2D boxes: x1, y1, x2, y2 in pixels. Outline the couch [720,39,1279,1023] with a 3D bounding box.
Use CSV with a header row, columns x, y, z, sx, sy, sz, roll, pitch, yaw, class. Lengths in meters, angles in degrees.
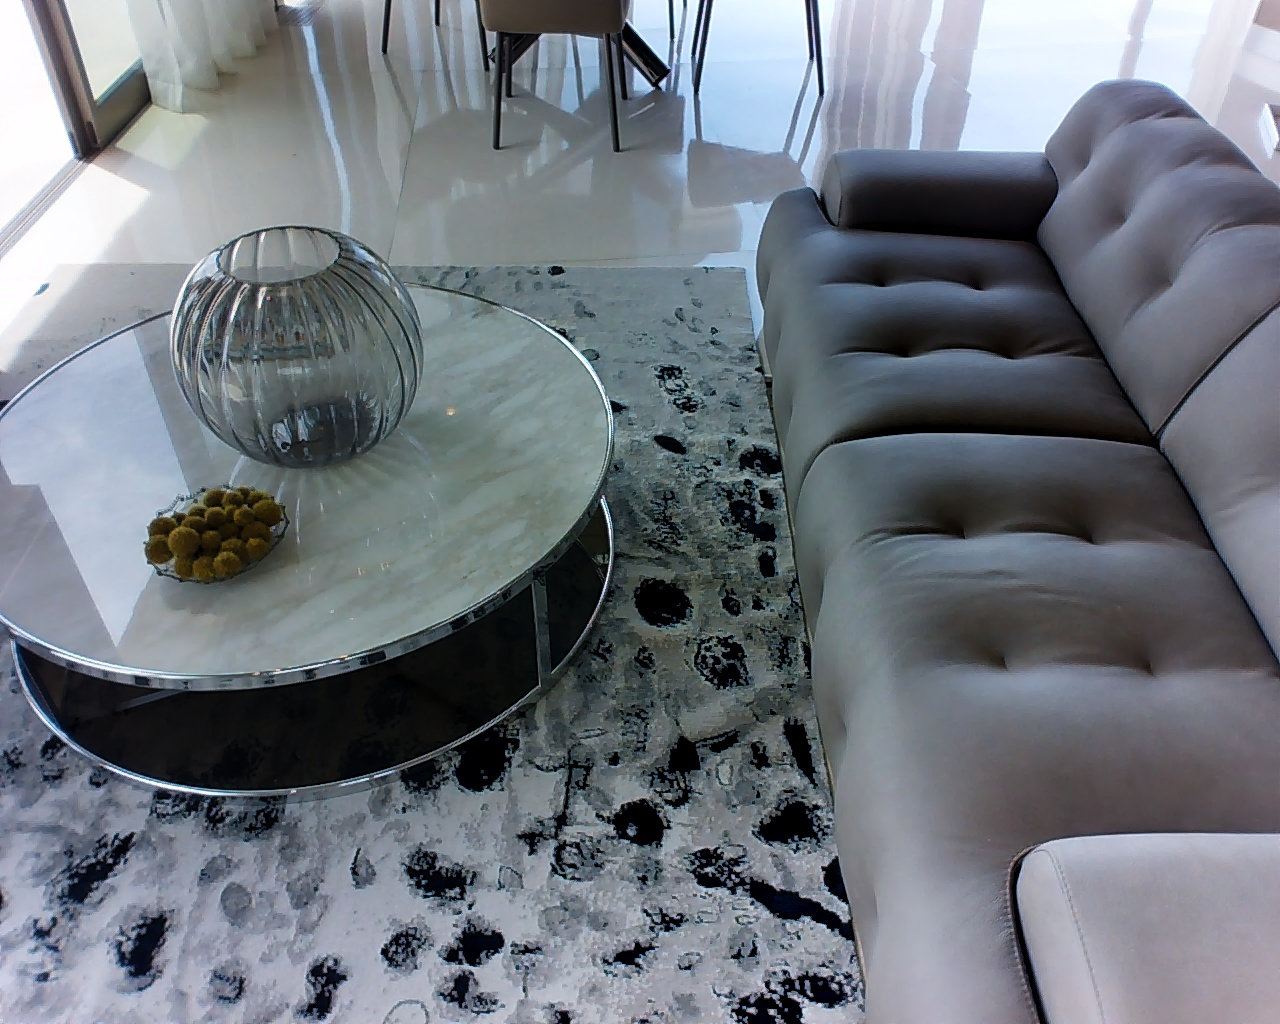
x,y,z,sx,sy,sz,roll,pitch,yaw,class
0.810,-0.130,2.050,1.190,0.700,2.520,1,40,1,couch
